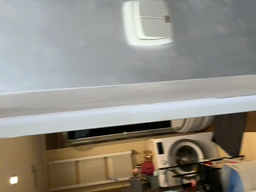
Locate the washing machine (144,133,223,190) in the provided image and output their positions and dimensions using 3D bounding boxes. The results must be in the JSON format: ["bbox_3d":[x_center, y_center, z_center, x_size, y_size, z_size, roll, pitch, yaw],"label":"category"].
[{"bbox_3d":[0.750,0.900,3.030,0.580,0.840,0.610,126,138,-74],"label":"washing machine"}]
